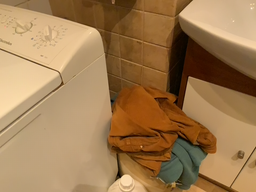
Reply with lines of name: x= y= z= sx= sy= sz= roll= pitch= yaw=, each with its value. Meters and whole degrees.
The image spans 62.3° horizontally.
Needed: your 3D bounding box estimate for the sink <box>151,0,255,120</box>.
sink: x=0.460 y=-0.110 z=0.540 sx=0.670 sy=0.160 sz=0.430 roll=23 pitch=49 yaw=23
